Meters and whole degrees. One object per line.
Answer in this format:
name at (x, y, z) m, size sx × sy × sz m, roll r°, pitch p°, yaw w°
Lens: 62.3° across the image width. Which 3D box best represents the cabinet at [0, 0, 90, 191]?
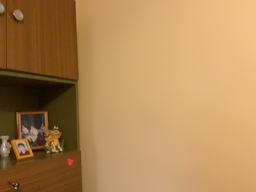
cabinet at (-0.620, 0.170, 0.950) m, size 0.370 × 1.560 × 0.910 m, roll -5°, pitch -4°, yaw 28°
